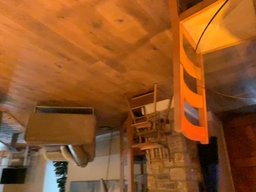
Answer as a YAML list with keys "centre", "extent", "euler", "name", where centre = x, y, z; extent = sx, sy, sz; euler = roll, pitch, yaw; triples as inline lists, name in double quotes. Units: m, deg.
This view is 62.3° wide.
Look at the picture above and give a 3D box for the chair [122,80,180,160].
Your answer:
- centre: [0.300, 0.360, 2.910]
  extent: [0.550, 0.910, 0.500]
  euler: [-17, 152, 31]
  name: "chair"
